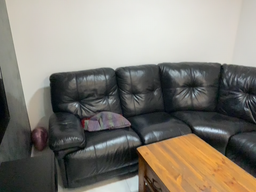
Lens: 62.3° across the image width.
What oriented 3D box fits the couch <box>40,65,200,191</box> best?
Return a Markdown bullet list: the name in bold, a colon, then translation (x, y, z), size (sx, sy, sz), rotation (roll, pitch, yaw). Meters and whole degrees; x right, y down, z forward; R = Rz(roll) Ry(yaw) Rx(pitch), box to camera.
- **couch**: translation (-0.140, 0.270, 2.380), size (1.400, 0.940, 0.980), rotation (-8, 22, -17)
